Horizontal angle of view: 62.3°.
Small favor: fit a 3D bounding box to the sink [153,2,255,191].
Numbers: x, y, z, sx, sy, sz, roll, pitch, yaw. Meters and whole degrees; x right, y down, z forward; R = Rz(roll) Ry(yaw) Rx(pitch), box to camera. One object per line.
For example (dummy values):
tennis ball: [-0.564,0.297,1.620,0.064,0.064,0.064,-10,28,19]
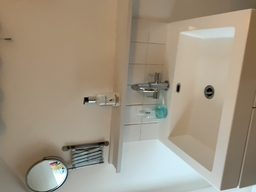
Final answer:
sink: [0.300,-0.010,0.890,0.450,0.140,0.620,-152,64,-65]
